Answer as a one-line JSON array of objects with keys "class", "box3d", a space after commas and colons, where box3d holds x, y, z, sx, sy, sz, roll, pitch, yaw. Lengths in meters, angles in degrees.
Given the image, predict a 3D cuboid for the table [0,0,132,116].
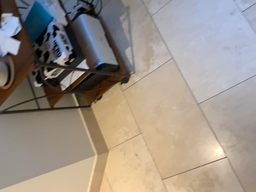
[{"class": "table", "box3d": [-0.440, -0.270, 1.300, 0.440, 0.680, 0.600, -32, 74, 28]}]
